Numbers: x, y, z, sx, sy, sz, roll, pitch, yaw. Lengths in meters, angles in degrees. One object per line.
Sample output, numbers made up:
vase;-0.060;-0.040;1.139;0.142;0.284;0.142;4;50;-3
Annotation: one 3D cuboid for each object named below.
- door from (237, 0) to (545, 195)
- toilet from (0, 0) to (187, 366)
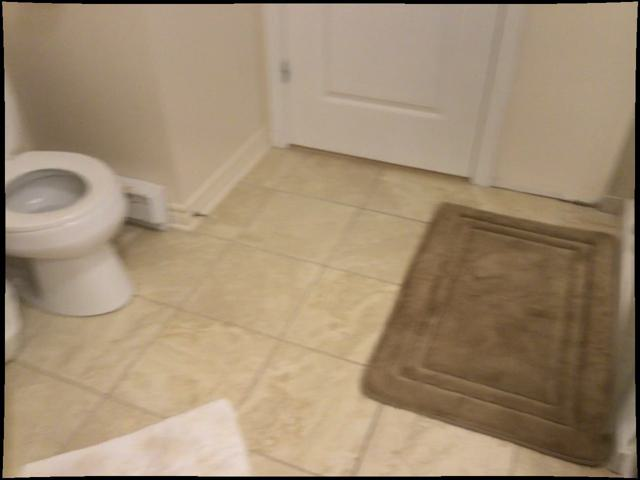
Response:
door;0.210;-1.121;1.670;1.039;2.061;0.080;16;42;16
toilet;-0.859;-0.190;1.610;0.709;0.750;0.520;16;42;15
